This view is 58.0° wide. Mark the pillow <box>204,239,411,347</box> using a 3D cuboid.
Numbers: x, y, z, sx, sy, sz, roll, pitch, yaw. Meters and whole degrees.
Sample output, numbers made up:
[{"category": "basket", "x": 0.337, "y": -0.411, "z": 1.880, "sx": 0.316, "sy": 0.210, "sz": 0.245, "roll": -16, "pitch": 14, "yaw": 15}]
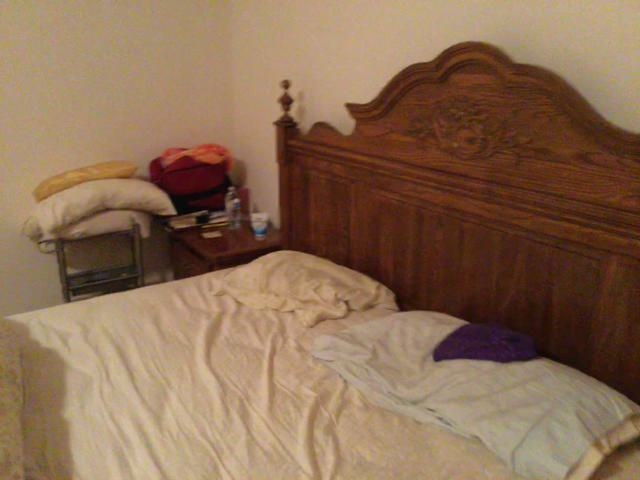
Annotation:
[{"category": "pillow", "x": -0.060, "y": 0.150, "z": 1.960, "sx": 0.500, "sy": 0.170, "sz": 0.530, "roll": -6, "pitch": 13, "yaw": -30}]

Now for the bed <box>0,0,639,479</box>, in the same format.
[{"category": "bed", "x": -0.460, "y": 0.360, "z": 1.210, "sx": 2.270, "sy": 1.680, "sz": 1.960, "roll": -4, "pitch": 11, "yaw": -31}]

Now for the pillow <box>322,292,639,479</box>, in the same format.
[{"category": "pillow", "x": 0.370, "y": 0.320, "z": 1.380, "sx": 0.410, "sy": 0.160, "sz": 0.730, "roll": -6, "pitch": 13, "yaw": -30}]

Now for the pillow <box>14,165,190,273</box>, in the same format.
[{"category": "pillow", "x": -0.940, "y": -0.120, "z": 2.490, "sx": 0.620, "sy": 0.360, "sz": 0.440, "roll": -6, "pitch": 13, "yaw": -30}]
